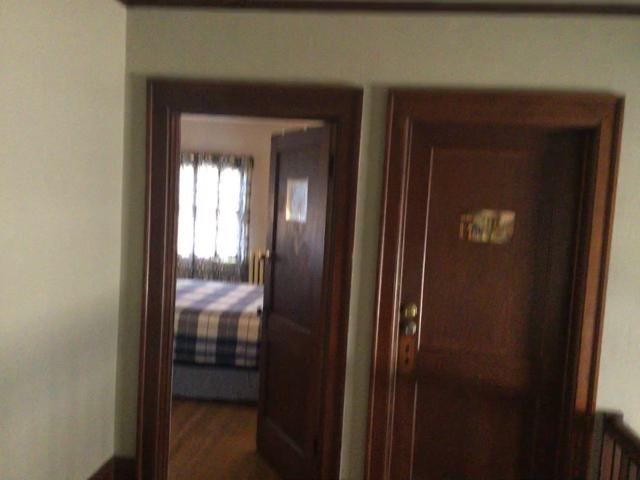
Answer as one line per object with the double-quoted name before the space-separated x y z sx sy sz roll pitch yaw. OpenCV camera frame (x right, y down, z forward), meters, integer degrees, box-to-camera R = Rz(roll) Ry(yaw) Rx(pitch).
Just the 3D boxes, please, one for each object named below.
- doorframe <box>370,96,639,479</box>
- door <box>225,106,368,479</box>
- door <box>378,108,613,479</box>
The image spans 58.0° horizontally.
"doorframe" 0.810 0.420 2.660 1.000 2.020 0.330 6 0 8
"door" -0.170 0.350 3.170 0.300 1.980 0.870 6 0 -23
"door" 0.780 0.420 2.720 0.860 1.970 0.250 6 0 8
